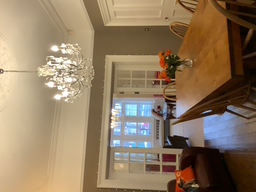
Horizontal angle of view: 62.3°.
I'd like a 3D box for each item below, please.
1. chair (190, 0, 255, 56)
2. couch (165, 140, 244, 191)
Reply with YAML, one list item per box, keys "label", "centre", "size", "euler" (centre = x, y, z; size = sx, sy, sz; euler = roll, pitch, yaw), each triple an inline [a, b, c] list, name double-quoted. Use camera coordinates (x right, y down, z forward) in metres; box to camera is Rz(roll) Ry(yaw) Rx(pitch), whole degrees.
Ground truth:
- label: "chair"
  centre: [0.950, -0.610, 1.450]
  size: [0.530, 0.880, 0.480]
  euler: [81, -170, -74]
- label: "couch"
  centre: [1.050, 1.340, 3.230]
  size: [0.930, 0.820, 0.890]
  euler: [-84, -5, -58]
